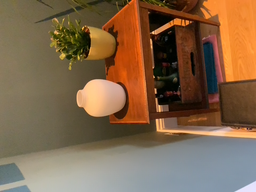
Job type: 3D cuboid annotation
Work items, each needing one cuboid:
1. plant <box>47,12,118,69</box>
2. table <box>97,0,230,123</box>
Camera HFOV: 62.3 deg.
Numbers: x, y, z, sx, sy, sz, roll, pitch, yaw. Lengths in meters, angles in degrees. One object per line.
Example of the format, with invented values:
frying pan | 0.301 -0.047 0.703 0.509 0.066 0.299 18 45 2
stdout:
plant | -0.260 -0.290 1.200 0.230 0.320 0.220 -9 84 56
table | 0.230 -0.170 1.400 0.450 0.700 0.620 -10 83 56
